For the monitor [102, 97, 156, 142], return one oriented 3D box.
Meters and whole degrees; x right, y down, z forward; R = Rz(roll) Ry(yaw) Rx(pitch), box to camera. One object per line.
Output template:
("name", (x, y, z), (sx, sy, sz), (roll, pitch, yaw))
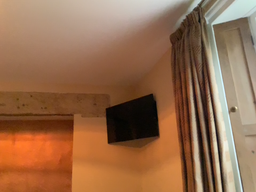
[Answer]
("monitor", (-0.030, 0.350, 2.890), (0.930, 0.500, 0.070), (-15, -19, 41))
